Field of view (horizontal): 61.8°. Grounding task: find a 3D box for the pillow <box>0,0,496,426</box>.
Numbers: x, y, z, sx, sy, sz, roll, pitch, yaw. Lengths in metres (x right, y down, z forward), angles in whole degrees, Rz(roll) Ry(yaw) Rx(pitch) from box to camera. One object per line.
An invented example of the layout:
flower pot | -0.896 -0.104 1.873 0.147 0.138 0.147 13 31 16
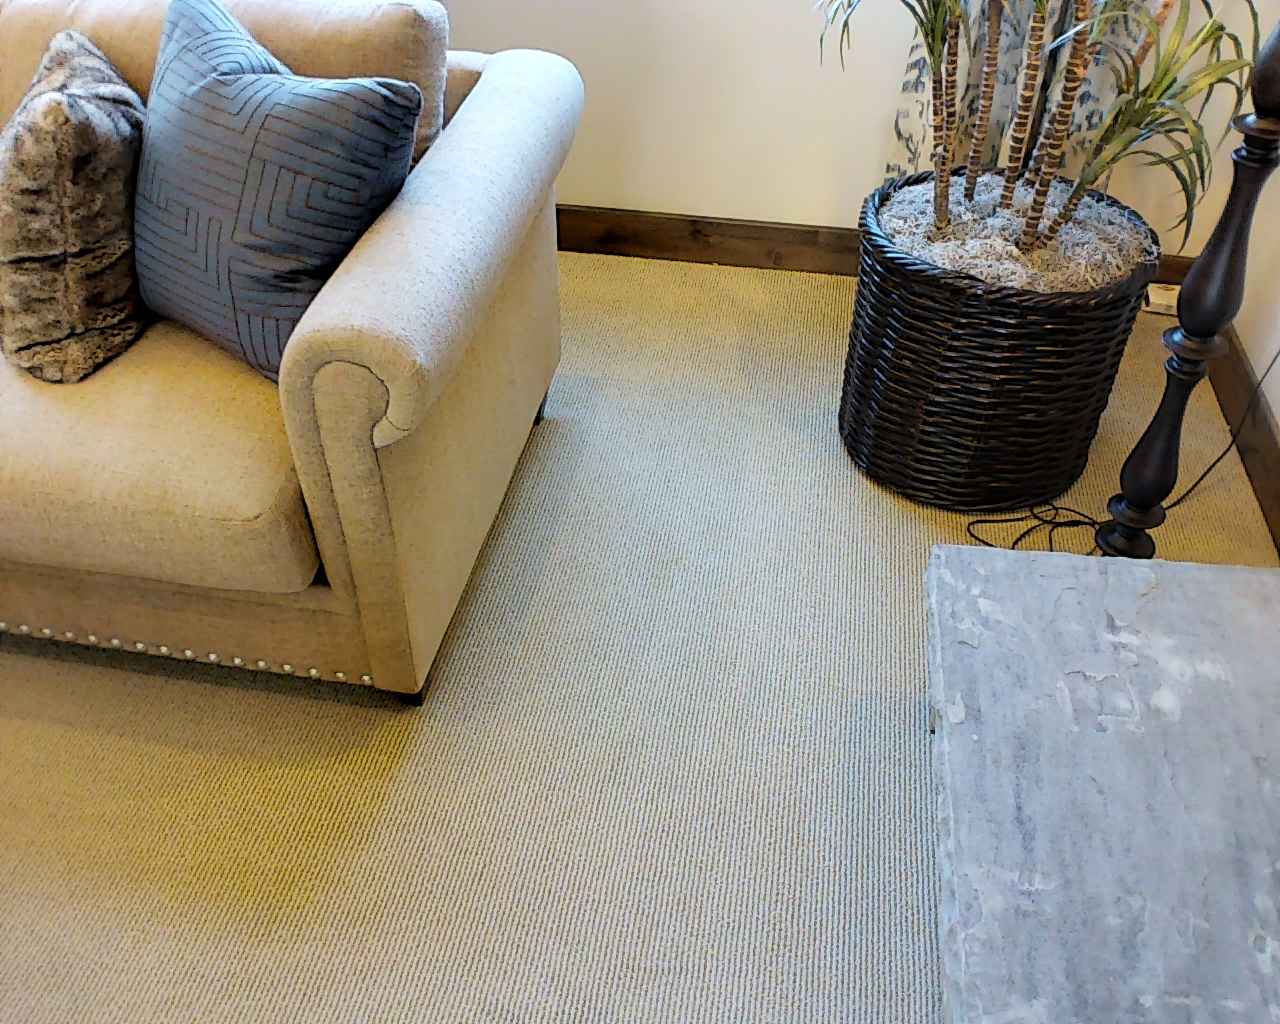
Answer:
pillow | -0.560 -0.470 1.540 0.550 0.400 0.380 22 46 22

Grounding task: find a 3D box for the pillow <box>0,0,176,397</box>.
pillow | -0.860 -0.490 1.580 0.230 0.370 0.480 10 47 -28
